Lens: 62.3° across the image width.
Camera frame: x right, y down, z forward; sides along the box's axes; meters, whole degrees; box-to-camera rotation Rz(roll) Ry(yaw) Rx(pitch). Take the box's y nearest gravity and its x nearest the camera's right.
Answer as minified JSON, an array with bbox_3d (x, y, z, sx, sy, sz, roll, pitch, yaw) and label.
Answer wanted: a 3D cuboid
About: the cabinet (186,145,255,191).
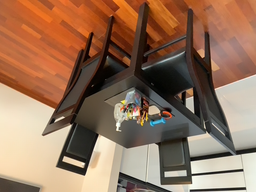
[{"bbox_3d":[1.690,1.500,3.940,0.590,0.840,1.000,33,140,-32],"label":"cabinet"}]
